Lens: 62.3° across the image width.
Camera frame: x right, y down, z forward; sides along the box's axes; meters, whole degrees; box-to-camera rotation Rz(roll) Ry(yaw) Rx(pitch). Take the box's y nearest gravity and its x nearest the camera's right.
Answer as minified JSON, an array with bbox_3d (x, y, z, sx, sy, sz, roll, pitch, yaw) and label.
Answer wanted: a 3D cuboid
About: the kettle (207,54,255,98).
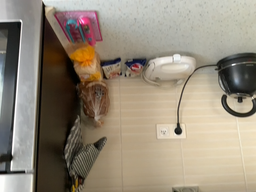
[{"bbox_3d":[0.530,-0.090,1.040,0.190,0.160,0.200,-1,167,-3],"label":"kettle"}]
